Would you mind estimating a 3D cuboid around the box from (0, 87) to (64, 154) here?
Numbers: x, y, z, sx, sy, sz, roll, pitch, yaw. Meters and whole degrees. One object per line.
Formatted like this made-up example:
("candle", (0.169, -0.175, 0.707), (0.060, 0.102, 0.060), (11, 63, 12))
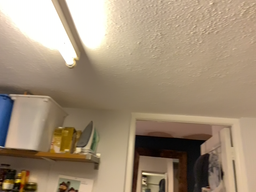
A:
("box", (-0.690, 0.180, 1.500), (0.320, 0.380, 0.290), (4, -23, 2))
